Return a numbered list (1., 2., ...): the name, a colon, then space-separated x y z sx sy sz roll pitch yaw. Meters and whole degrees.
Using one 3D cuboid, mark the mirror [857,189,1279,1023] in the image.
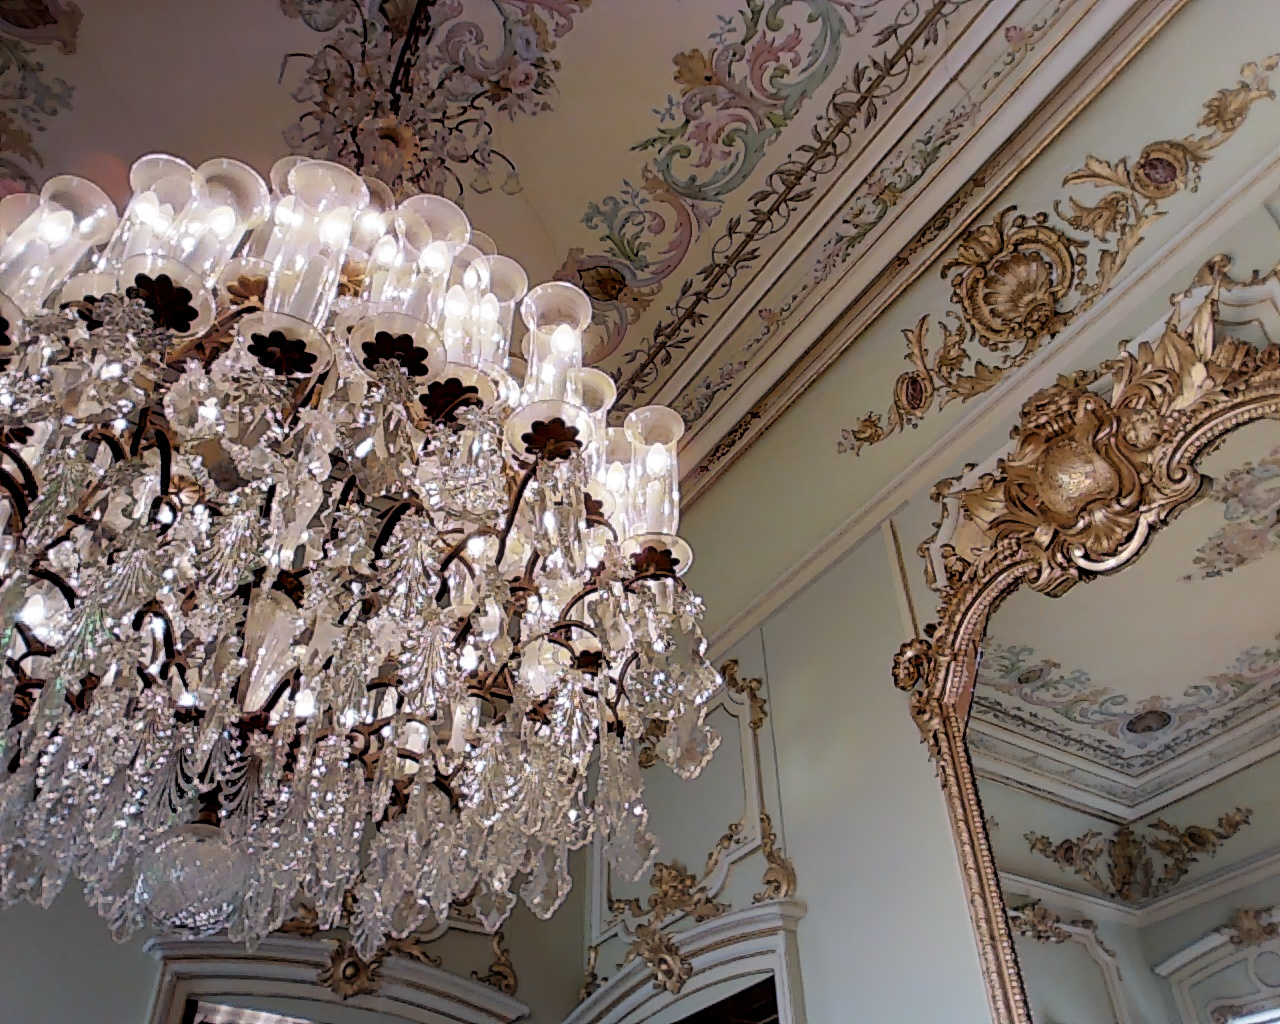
1. mirror: 1.709 0.881 3.040 0.420 3.341 2.200 21 -45 -23
